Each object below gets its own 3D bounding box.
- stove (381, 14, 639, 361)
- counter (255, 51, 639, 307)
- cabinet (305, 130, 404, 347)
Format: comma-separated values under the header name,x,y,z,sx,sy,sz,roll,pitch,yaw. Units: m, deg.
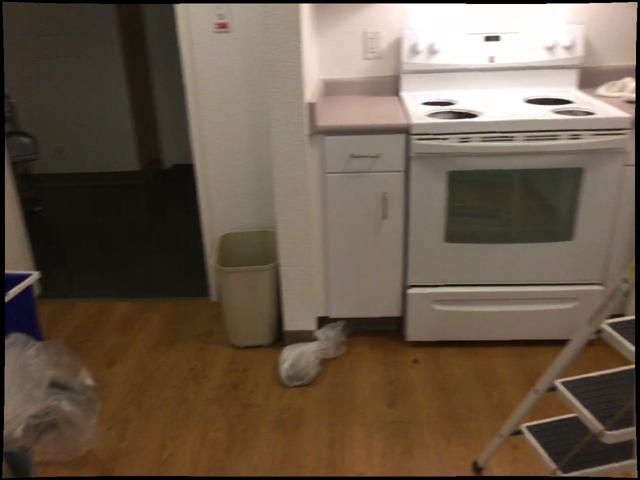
name,x,y,z,sx,sy,sz,roll,pitch,yaw
stove,0.738,-0.241,2.410,0.888,1.233,0.740,-2,23,3
counter,0.997,-0.371,1.780,2.154,0.190,1.801,-3,23,3
cabinet,0.150,0.020,2.280,0.349,0.882,0.090,-2,23,3
